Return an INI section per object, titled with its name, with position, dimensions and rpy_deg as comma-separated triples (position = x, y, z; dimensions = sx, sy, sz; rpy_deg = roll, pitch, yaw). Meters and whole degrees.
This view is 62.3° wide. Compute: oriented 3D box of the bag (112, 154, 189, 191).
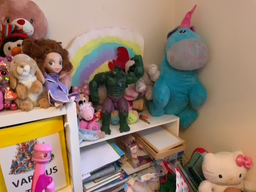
[bag]
position = 0.130, 0.560, 1.130
dimensions = 0.350, 0.350, 0.270
rpy_deg = 4, 17, 16

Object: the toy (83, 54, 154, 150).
[toy]
position = -0.050, 0.010, 1.220
dimensions = 0.330, 0.470, 0.200
rpy_deg = -10, 18, -29
